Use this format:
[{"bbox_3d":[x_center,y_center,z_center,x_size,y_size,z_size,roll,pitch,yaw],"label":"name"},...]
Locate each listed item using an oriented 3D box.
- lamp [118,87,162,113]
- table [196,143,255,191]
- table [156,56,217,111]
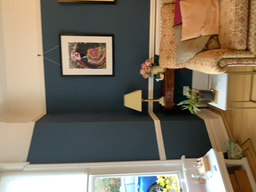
[{"bbox_3d":[0.160,0.050,3.100,0.330,0.600,0.310,-109,20,-75],"label":"lamp"},{"bbox_3d":[1.090,0.970,2.130,0.470,0.480,0.840,97,171,-54],"label":"table"},{"bbox_3d":[0.830,-0.190,3.100,0.340,0.740,0.750,-119,29,-79],"label":"table"}]
